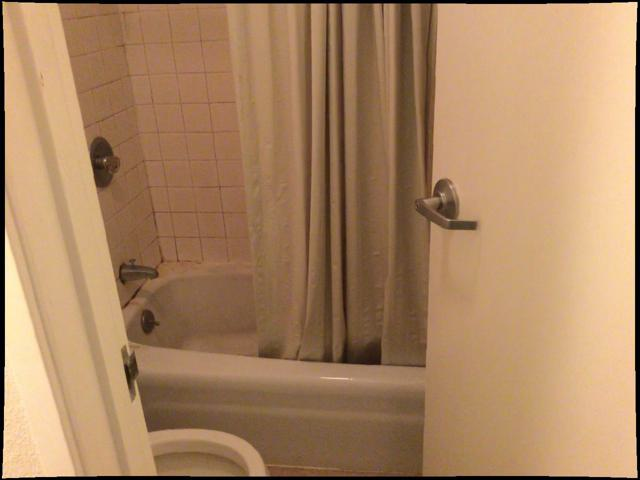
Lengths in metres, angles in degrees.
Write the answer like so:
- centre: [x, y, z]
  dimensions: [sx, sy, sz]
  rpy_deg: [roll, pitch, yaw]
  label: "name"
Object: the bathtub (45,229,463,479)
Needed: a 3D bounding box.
- centre: [-0.150, 0.361, 2.090]
  dimensions: [1.227, 0.481, 0.780]
  rpy_deg: [-1, 27, 9]
  label: "bathtub"
